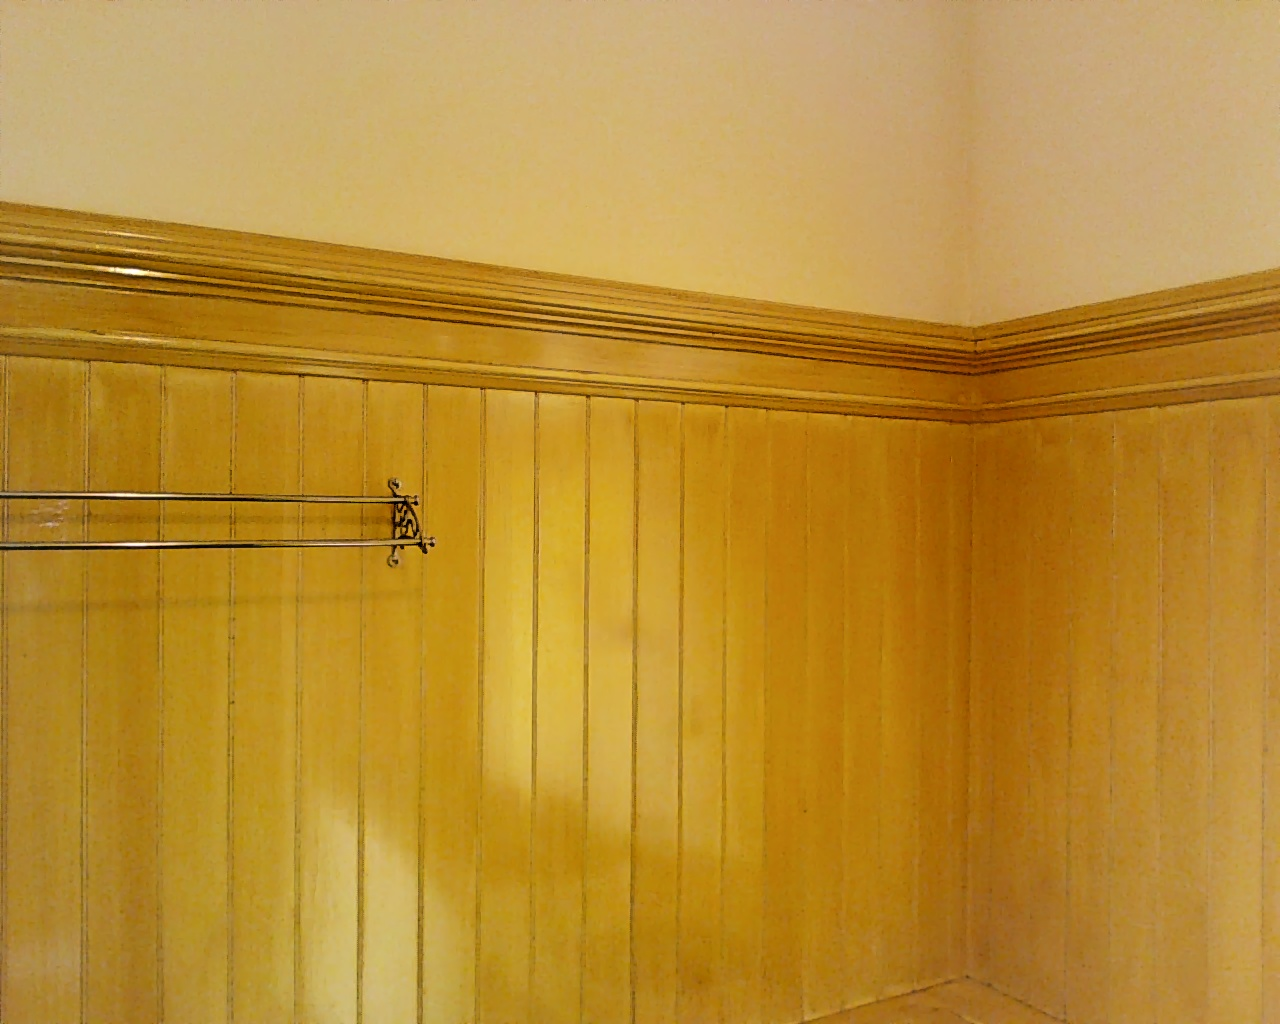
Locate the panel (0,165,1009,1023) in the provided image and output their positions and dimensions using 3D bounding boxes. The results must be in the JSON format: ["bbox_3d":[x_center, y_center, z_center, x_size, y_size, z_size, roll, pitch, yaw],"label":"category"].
[{"bbox_3d":[-0.310,0.550,1.540,2.250,1.890,0.100,1,0,-29],"label":"panel"}]
